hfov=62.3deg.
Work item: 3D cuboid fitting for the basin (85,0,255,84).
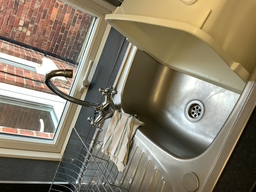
[{"bbox_3d":[0.070,-0.240,0.560,0.460,0.150,0.270,35,106,55],"label":"basin"}]

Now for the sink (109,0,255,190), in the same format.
[{"bbox_3d":[0.190,-0.080,0.620,0.470,0.180,0.450,36,107,56],"label":"sink"}]
